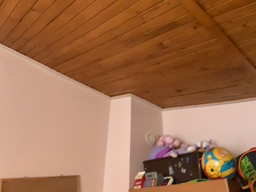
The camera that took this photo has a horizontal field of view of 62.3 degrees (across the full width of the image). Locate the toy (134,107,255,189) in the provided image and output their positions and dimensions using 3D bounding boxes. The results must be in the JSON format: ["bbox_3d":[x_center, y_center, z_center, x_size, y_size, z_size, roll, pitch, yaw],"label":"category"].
[{"bbox_3d":[0.520,0.490,1.750,0.820,0.440,0.490,-23,-37,36],"label":"toy"}]
